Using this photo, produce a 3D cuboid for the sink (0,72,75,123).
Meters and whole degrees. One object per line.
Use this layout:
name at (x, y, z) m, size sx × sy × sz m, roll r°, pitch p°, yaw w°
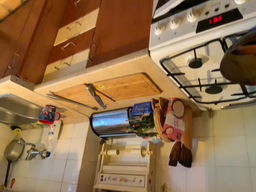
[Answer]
sink at (-0.720, 0.040, 1.560) m, size 0.400 × 0.140 × 0.490 m, roll -10°, pitch 151°, yaw 33°
